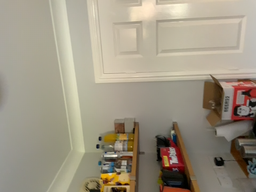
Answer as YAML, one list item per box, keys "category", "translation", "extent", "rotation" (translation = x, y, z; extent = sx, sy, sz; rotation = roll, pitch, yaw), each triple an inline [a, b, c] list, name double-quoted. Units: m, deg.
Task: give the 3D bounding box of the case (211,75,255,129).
- category: "case"
  translation: [0.770, 0.040, 1.520]
  extent: [0.210, 0.250, 0.330]
  rotation: [-80, -12, -71]
